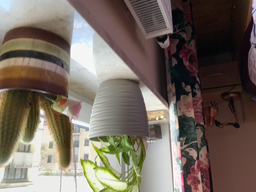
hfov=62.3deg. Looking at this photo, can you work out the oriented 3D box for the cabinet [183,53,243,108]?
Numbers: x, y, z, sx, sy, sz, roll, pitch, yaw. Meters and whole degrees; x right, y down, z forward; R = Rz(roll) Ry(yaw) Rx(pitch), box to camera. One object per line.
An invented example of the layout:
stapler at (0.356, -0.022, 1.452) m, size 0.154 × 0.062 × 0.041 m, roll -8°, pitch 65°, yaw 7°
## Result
cabinet at (0.790, -0.120, 2.000) m, size 0.440 × 0.330 × 0.430 m, roll -8°, pitch 161°, yaw 21°
